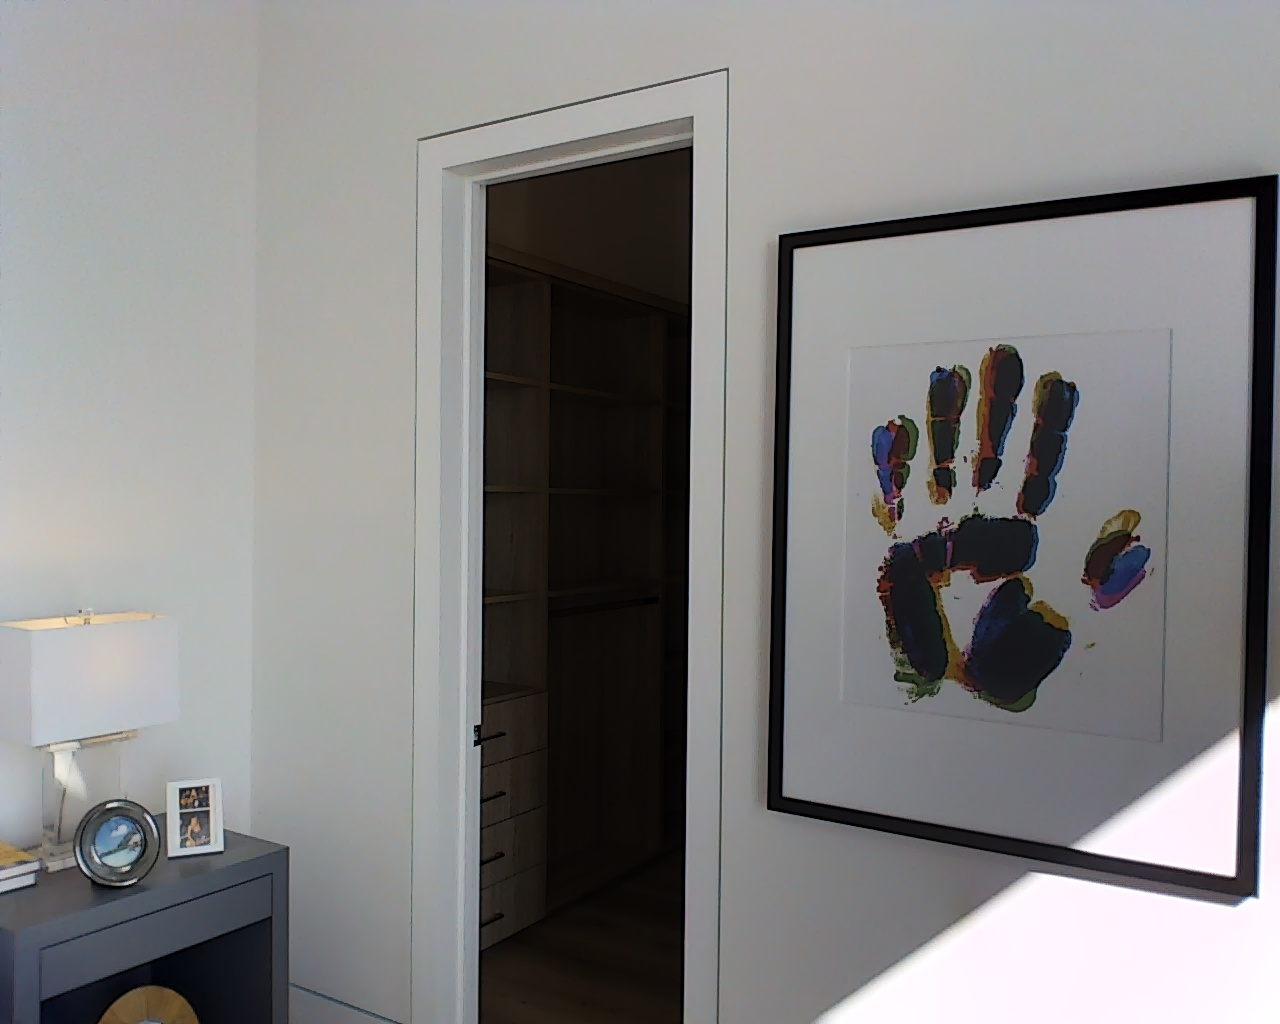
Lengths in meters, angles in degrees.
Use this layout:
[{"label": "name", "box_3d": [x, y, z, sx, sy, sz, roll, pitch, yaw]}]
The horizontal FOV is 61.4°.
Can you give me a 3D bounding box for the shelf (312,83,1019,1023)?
[{"label": "shelf", "box_3d": [0.260, 0.260, 3.910, 1.670, 2.540, 2.110, 1, -2, 31]}]
